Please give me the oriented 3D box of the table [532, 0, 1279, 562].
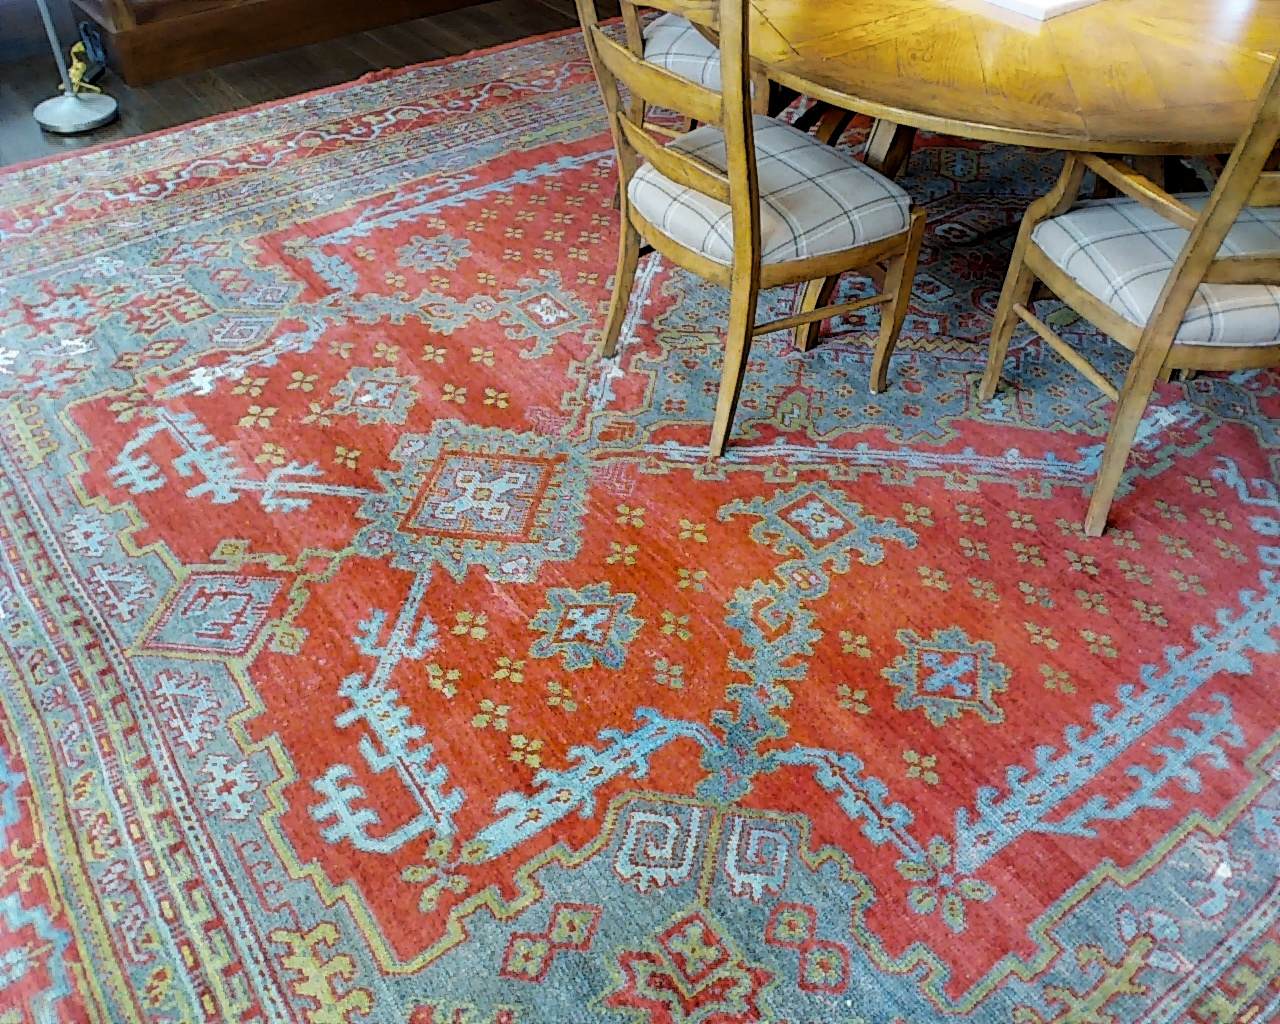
[{"bbox_3d":[0.900,-0.970,2.690,1.640,0.730,1.700,-28,50,-27],"label":"table"}]
